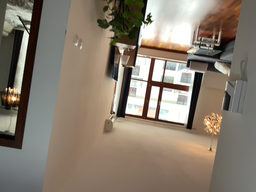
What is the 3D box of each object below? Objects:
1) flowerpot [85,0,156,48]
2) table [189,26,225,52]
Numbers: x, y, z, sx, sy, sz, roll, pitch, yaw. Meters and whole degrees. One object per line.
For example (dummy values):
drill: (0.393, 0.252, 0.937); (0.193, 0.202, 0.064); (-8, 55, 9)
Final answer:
flowerpot: (0.020, -1.210, 2.580); (0.640, 0.920, 1.150); (10, -178, 4)
table: (1.770, -1.270, 4.840); (0.490, 0.340, 0.740); (10, -178, 0)
